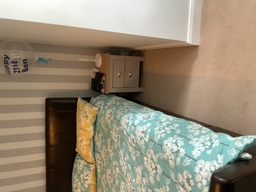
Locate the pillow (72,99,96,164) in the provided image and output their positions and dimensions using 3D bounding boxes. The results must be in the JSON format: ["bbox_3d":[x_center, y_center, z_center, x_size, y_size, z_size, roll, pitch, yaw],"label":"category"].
[{"bbox_3d":[-0.510,0.380,2.420,0.440,0.140,0.620,21,110,62],"label":"pillow"}]

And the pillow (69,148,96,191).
[{"bbox_3d":[-0.550,1.060,2.480,0.500,0.170,0.720,21,110,62],"label":"pillow"}]
